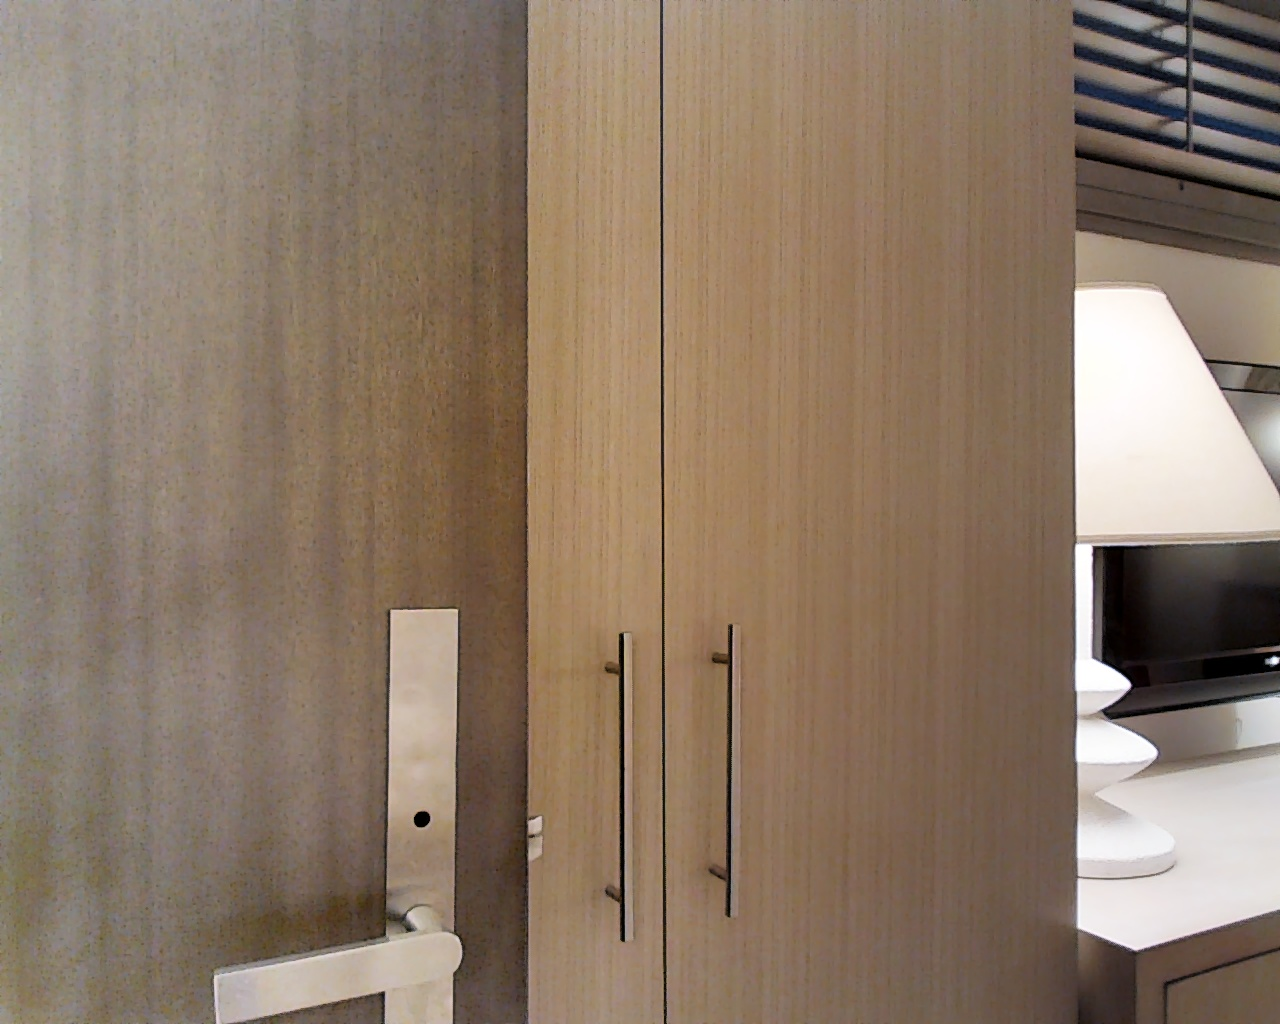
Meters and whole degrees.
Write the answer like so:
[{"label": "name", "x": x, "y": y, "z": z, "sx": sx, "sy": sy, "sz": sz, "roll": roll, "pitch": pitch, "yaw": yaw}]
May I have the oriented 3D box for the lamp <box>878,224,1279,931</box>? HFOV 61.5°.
[{"label": "lamp", "x": 0.660, "y": 0.070, "z": 1.470, "sx": 0.460, "sy": 0.760, "sz": 0.470, "roll": 0, "pitch": 0, "yaw": -27}]
